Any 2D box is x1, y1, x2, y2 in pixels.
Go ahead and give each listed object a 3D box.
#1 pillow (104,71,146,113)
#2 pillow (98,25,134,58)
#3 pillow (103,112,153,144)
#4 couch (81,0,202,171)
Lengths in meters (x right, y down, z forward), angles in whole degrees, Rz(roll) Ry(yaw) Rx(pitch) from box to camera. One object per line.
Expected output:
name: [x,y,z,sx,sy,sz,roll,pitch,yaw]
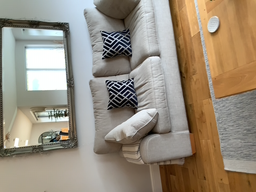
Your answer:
pillow: [-0.040,-0.040,2.660,0.240,0.460,0.450,105,159,-80]
pillow: [-0.160,-0.700,2.740,0.190,0.410,0.340,125,140,-79]
pillow: [0.020,0.360,2.380,0.730,0.450,0.250,69,-165,-81]
couch: [0.030,-0.360,2.700,1.050,0.930,2.250,151,114,-67]
